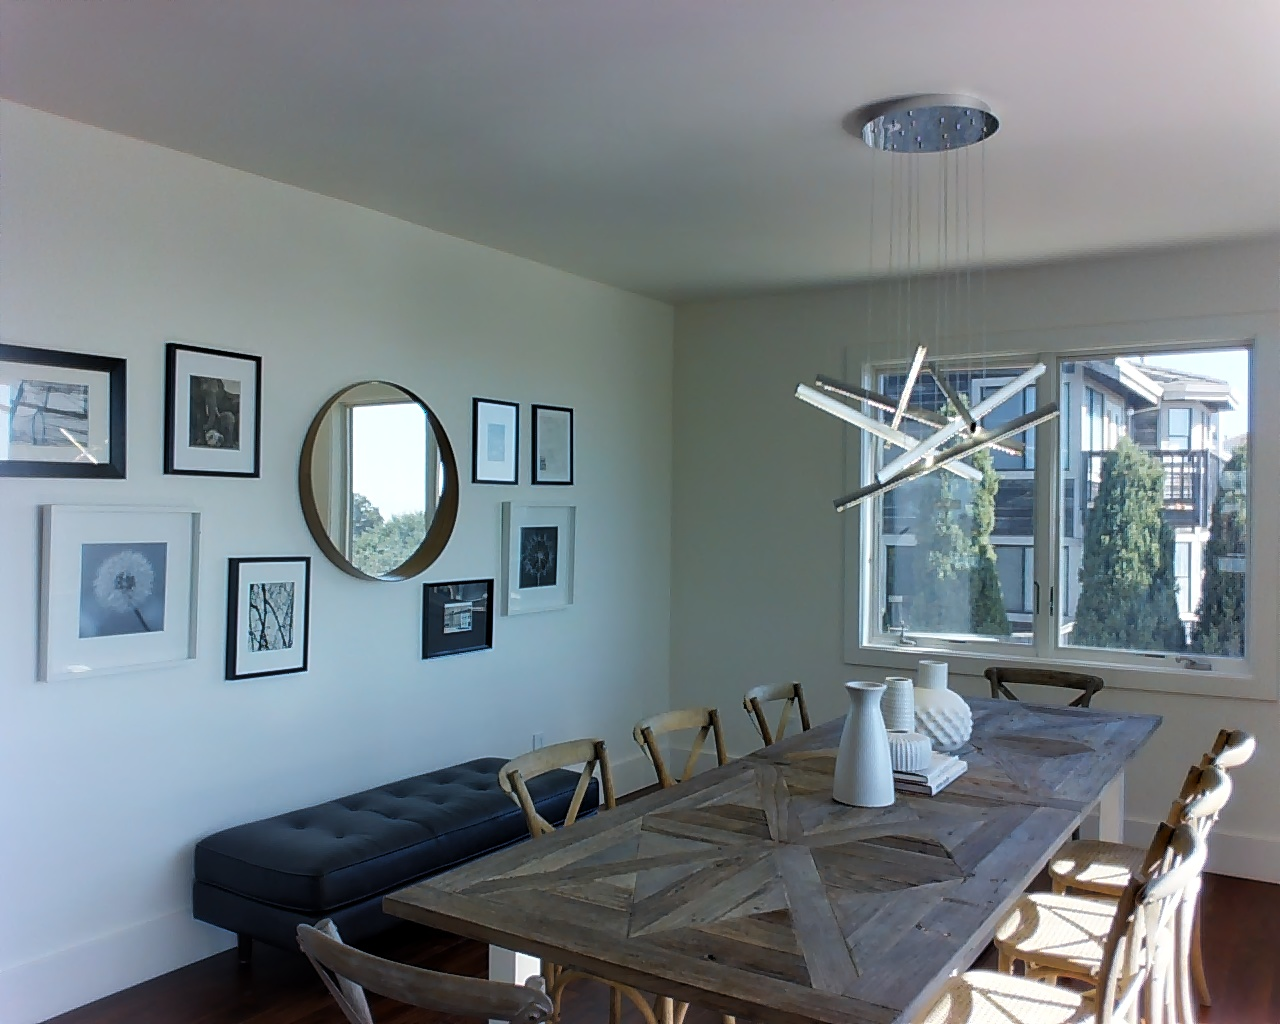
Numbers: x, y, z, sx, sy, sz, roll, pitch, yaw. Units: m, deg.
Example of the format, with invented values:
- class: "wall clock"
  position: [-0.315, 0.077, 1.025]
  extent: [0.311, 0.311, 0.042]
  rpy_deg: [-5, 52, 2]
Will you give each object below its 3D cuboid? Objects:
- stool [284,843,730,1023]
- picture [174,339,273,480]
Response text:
- class: "stool"
  position: [-0.210, 1.100, 1.840]
  extent: [0.500, 0.830, 0.580]
  rpy_deg: [1, 0, 33]
- class: "picture"
  position: [-1.420, -0.340, 3.680]
  extent: [0.030, 0.450, 0.360]
  rpy_deg: [1, 0, 34]
